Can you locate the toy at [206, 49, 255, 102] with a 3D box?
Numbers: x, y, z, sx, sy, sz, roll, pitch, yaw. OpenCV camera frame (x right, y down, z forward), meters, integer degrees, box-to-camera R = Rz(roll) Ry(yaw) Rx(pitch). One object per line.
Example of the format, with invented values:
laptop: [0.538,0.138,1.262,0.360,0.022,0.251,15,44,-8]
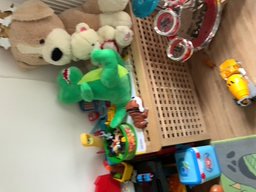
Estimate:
toy: [0.600,-0.110,1.250,0.160,0.140,0.260,-23,71,50]

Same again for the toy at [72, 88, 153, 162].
toy: [-0.120,0.190,1.280,0.440,0.240,0.320,-31,64,47]
